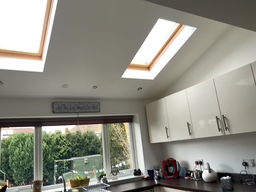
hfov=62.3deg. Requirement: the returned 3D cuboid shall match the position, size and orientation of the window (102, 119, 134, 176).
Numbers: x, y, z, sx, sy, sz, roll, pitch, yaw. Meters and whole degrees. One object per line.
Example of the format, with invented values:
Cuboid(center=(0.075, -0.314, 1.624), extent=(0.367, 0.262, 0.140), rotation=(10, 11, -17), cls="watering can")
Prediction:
Cuboid(center=(-0.190, 0.940, 3.960), extent=(0.470, 0.960, 0.210), rotation=(0, -14, -24), cls="window")
